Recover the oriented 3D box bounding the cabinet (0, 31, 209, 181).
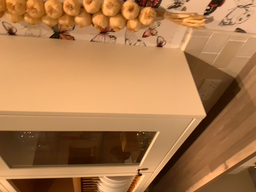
[{"bbox_3d":[-0.210,0.090,0.880,0.570,0.800,0.320,106,163,-51],"label":"cabinet"}]

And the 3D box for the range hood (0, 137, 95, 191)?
[{"bbox_3d":[-0.550,0.520,1.360,0.620,0.640,0.230,104,163,-49],"label":"range hood"}]
